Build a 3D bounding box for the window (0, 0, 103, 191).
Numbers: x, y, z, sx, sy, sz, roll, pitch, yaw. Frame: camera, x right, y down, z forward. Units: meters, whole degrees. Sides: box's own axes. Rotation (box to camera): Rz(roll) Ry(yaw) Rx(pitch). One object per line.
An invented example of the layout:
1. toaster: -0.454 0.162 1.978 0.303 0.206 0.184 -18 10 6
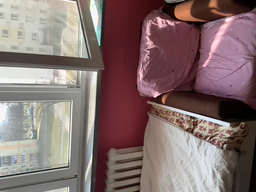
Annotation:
1. window: -1.020 0.410 1.460 0.130 1.620 2.320 20 108 60
